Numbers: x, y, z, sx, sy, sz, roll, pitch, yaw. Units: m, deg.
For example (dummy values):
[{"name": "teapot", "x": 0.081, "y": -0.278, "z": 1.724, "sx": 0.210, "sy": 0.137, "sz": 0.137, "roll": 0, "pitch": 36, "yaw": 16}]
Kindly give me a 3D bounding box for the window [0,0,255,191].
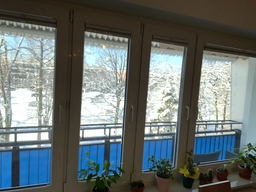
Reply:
[{"name": "window", "x": 0.350, "y": 0.160, "z": 1.860, "sx": 3.040, "sy": 1.520, "sz": 0.190, "roll": 1, "pitch": 7, "yaw": -25}]
